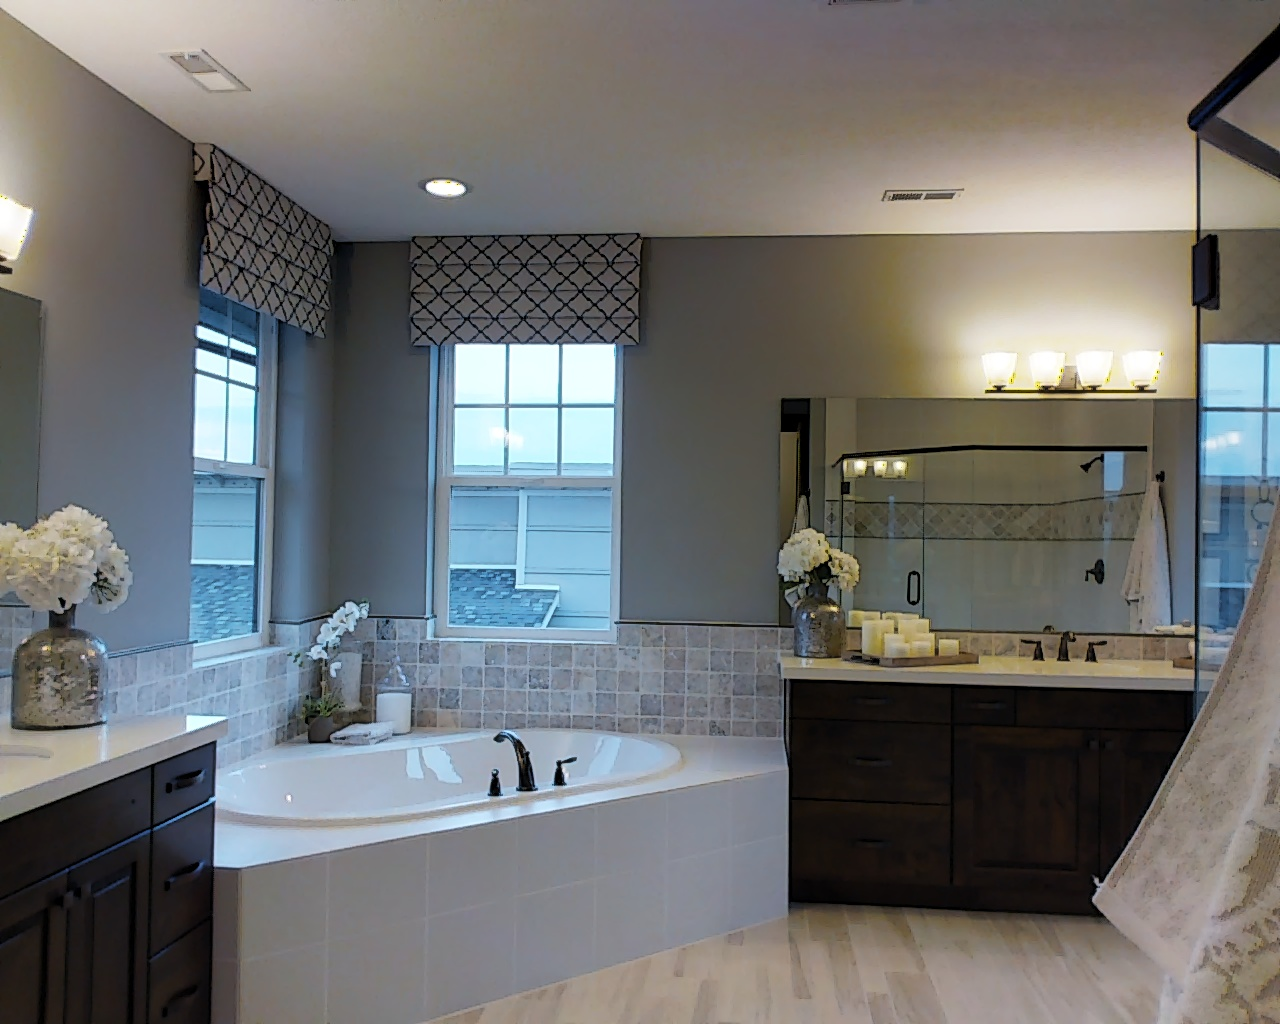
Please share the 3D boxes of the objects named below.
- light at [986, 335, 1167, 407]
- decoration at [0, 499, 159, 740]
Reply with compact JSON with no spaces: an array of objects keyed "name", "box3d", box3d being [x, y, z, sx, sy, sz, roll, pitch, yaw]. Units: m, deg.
[{"name":"light","box3d":[1.800,-0.580,4.440,0.670,0.270,0.180,1,-2,6]},{"name":"decoration","box3d":[-1.470,0.250,2.670,0.320,0.550,0.400,1,-2,6]}]
